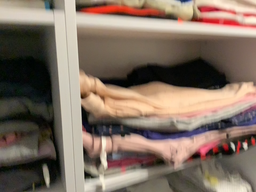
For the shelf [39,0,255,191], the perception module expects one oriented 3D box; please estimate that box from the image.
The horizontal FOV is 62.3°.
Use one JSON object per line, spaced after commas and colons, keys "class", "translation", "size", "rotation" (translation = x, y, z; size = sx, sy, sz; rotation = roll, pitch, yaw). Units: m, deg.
{"class": "shelf", "translation": [0.120, -0.280, 0.610], "size": [0.670, 1.570, 0.350], "rotation": [-6, 12, -27]}
